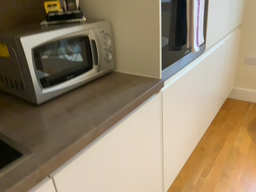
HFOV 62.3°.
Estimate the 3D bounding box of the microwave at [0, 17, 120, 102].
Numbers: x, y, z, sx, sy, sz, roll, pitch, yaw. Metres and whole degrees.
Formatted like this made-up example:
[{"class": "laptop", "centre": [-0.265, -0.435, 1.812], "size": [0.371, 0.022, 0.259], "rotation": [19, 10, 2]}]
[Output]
[{"class": "microwave", "centre": [-0.310, -0.200, 0.960], "size": [0.360, 0.250, 0.390], "rotation": [13, 31, 33]}]
